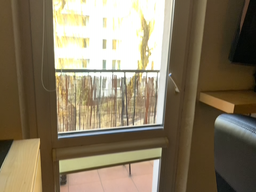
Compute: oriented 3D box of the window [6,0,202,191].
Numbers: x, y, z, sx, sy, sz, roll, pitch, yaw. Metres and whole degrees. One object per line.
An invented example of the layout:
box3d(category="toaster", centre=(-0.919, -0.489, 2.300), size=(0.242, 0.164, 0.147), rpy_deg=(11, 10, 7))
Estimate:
box3d(category="window", centre=(-0.090, -0.090, 1.130), size=(0.910, 2.500, 0.140), rpy_deg=(-2, 14, -18))
